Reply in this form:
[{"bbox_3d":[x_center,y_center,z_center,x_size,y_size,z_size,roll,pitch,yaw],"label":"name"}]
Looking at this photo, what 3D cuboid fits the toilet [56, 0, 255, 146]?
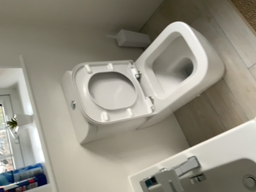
[{"bbox_3d":[0.140,-0.110,1.200,0.630,0.820,0.420,-43,62,45],"label":"toilet"}]
